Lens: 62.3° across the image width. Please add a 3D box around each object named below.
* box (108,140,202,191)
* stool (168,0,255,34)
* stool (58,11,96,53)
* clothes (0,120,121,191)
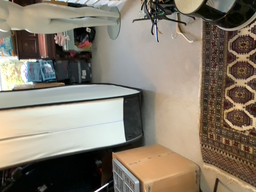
[{"bbox_3d":[0.200,0.750,1.860,0.600,0.550,0.410,23,116,58],"label":"box"},{"bbox_3d":[0.500,-0.580,1.170,0.410,0.360,0.400,17,110,59],"label":"stool"},{"bbox_3d":[-0.870,-1.060,3.610,0.350,0.510,0.600,11,105,60],"label":"stool"},{"bbox_3d":[-1.090,0.900,2.780,1.940,1.240,0.550,15,109,60],"label":"clothes"}]
